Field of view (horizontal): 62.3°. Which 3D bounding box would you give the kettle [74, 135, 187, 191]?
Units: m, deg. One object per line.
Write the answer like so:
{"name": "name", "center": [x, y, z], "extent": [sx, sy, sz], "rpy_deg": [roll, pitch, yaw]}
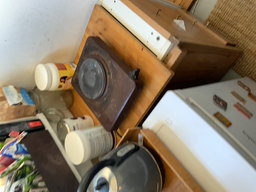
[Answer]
{"name": "kettle", "center": [0.000, 0.280, 0.640], "extent": [0.180, 0.220, 0.210], "rpy_deg": [49, 125, 25]}
